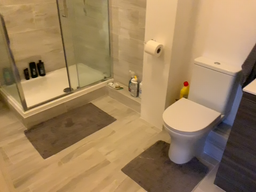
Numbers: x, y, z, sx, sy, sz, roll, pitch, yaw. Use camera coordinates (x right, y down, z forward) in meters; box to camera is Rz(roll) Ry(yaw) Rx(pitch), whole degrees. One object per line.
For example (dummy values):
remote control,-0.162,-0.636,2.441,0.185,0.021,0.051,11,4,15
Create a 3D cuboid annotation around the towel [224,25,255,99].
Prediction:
towel,0.870,-0.240,1.480,0.190,0.440,0.210,-25,39,-37
